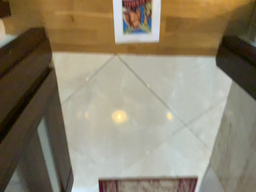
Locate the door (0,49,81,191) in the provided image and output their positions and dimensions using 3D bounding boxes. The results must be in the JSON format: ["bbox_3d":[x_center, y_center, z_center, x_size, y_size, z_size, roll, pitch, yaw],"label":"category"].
[{"bbox_3d":[-0.350,0.610,0.370,0.120,2.170,0.780,-2,119,-2],"label":"door"}]
